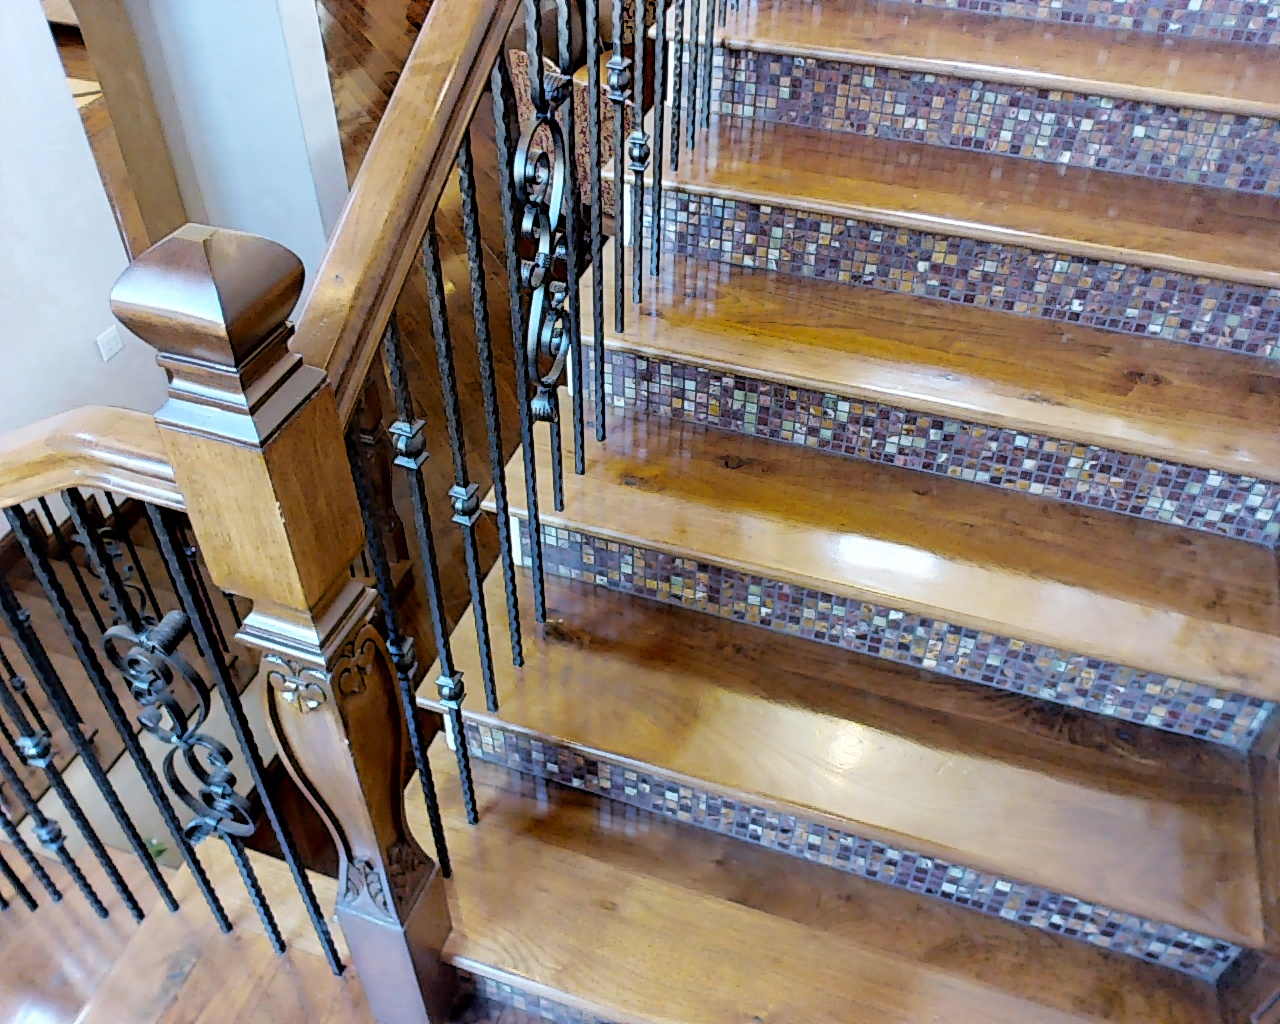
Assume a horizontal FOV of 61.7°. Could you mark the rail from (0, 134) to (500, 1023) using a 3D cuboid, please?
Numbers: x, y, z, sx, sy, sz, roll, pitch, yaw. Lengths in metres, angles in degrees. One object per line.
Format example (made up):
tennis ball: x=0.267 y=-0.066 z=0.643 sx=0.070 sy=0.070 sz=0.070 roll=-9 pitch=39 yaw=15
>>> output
rail: x=-1.100 y=0.320 z=1.590 sx=1.840 sy=1.940 sz=0.060 roll=13 pitch=43 yaw=14

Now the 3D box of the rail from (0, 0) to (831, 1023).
rail: x=0.070 y=-0.880 z=1.640 sx=0.080 sy=2.410 sz=2.520 roll=12 pitch=43 yaw=13
